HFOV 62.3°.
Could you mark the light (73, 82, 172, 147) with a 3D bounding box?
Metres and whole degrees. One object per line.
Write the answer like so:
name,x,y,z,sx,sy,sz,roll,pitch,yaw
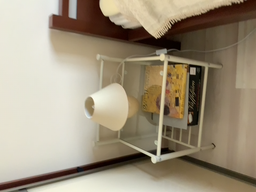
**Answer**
light,-0.020,0.070,1.090,0.260,0.440,0.260,1,91,52
